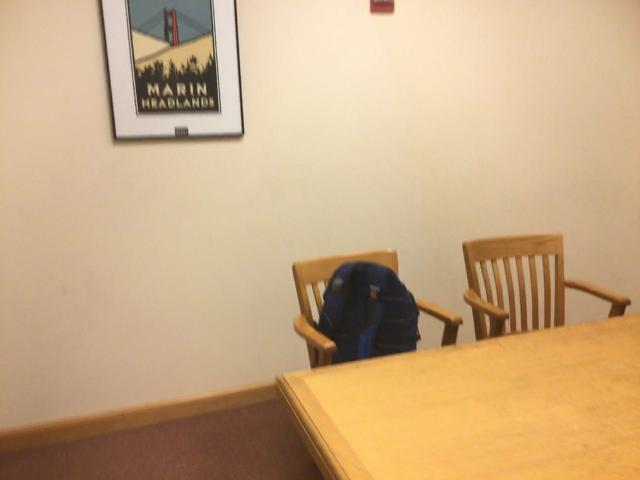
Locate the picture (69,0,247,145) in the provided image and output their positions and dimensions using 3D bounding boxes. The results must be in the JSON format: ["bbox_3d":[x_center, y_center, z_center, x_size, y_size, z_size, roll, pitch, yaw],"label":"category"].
[{"bbox_3d":[-0.650,-0.790,2.360,0.650,0.750,0.030,-6,14,-16],"label":"picture"}]

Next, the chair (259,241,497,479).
[{"bbox_3d":[0.180,0.520,2.150,0.640,0.850,0.650,-6,14,-16],"label":"chair"}]

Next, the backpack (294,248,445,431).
[{"bbox_3d":[0.160,0.320,2.040,0.390,0.460,0.420,-6,14,-16],"label":"backpack"}]

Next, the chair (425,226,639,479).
[{"bbox_3d":[0.850,0.460,2.320,0.630,0.870,0.630,-6,14,-16],"label":"chair"}]
